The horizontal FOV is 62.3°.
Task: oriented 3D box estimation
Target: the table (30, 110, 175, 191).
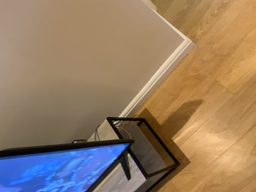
[{"bbox_3d":[-0.240,0.610,1.480,0.990,0.420,0.460,-50,61,20],"label":"table"}]
